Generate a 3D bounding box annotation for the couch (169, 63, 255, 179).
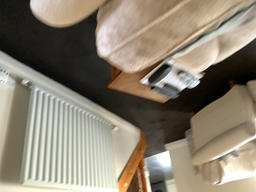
[{"bbox_3d":[1.380,0.370,2.420,1.260,0.790,1.150,4,147,-19],"label":"couch"}]
